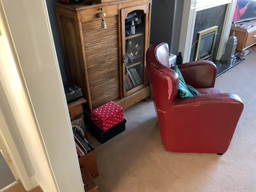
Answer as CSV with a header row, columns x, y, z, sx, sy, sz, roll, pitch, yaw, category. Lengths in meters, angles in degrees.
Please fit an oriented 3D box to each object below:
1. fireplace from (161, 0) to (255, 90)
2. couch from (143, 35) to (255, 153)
x,y,z,sx,sy,sz,roll,pitch,yaw,category
1.230,-0.960,3.150,1.330,1.190,0.660,-26,40,-34,fireplace
0.570,-0.050,2.070,0.790,0.850,0.800,0,33,1,couch
